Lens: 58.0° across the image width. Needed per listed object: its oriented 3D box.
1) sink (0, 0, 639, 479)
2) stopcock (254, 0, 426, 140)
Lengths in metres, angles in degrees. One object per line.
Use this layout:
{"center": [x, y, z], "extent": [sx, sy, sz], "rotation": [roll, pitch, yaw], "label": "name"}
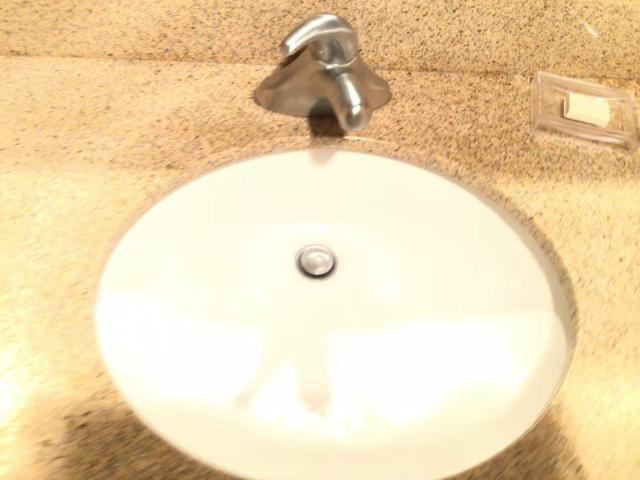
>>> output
{"center": [0.020, 0.000, 0.530], "extent": [0.430, 0.290, 0.420], "rotation": [0, 56, -8], "label": "sink"}
{"center": [0.010, -0.190, 0.590], "extent": [0.150, 0.100, 0.140], "rotation": [0, 56, -8], "label": "stopcock"}
